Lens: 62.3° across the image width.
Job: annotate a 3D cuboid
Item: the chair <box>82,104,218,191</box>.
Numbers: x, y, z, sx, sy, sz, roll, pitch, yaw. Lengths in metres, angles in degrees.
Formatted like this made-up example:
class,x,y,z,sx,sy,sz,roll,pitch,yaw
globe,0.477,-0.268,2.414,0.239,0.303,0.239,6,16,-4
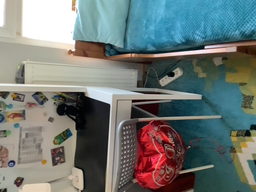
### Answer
class,x,y,z,sx,sy,sz,roll,pitch,yaw
chair,0.150,0.280,1.380,0.410,0.760,0.370,17,104,54

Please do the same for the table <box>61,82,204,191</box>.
class,x,y,z,sx,sy,sz,roll,pitch,yaw
table,-0.010,0.450,1.610,0.720,0.750,1.040,11,99,55
